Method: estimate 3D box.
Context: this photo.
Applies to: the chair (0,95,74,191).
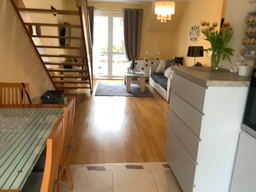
[{"bbox_3d":[-0.750,0.500,1.780,0.500,0.920,0.480,1,15,-8],"label":"chair"}]
